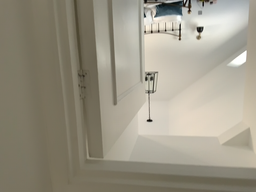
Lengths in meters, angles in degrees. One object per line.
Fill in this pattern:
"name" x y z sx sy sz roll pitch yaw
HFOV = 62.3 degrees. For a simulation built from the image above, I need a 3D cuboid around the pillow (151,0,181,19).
"pillow" 0.790 -1.830 4.450 0.580 0.300 0.180 -7 -141 4
